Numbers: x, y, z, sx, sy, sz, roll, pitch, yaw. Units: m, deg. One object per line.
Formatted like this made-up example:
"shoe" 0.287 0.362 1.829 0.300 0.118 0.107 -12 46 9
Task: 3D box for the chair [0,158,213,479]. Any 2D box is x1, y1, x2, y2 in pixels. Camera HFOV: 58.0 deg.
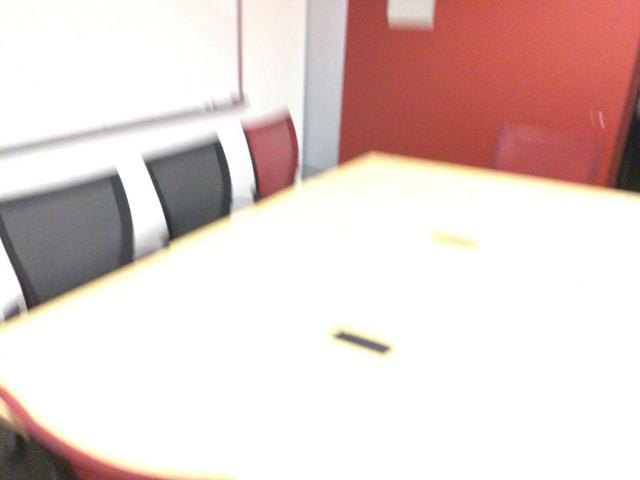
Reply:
"chair" -0.700 0.270 1.770 0.460 0.880 0.560 15 25 27

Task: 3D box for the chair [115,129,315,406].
"chair" -0.390 0.070 2.280 0.510 0.870 0.510 15 25 27

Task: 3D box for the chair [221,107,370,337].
"chair" -0.120 -0.110 2.720 0.460 0.900 0.500 15 25 27
